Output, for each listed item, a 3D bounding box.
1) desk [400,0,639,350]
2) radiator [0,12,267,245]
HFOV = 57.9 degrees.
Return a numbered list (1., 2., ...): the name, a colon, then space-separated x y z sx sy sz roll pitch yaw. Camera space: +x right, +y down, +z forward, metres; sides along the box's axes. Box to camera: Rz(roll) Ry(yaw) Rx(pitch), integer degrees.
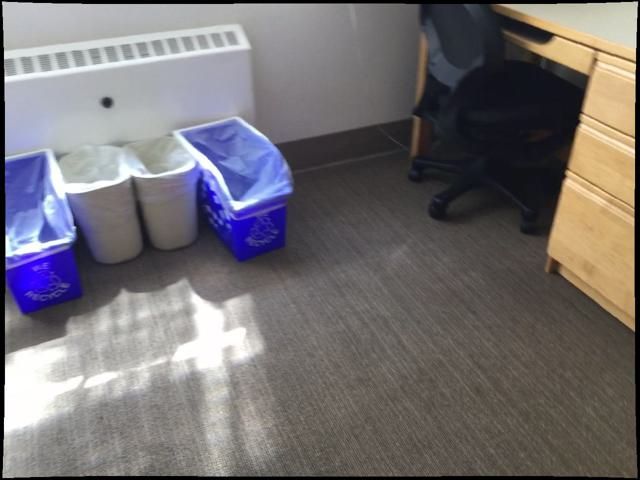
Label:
1. desk: 0.929 -0.430 1.970 0.669 0.740 1.340 -15 39 -18
2. radiator: -0.729 -0.380 1.990 1.059 0.610 0.160 -15 39 -18
